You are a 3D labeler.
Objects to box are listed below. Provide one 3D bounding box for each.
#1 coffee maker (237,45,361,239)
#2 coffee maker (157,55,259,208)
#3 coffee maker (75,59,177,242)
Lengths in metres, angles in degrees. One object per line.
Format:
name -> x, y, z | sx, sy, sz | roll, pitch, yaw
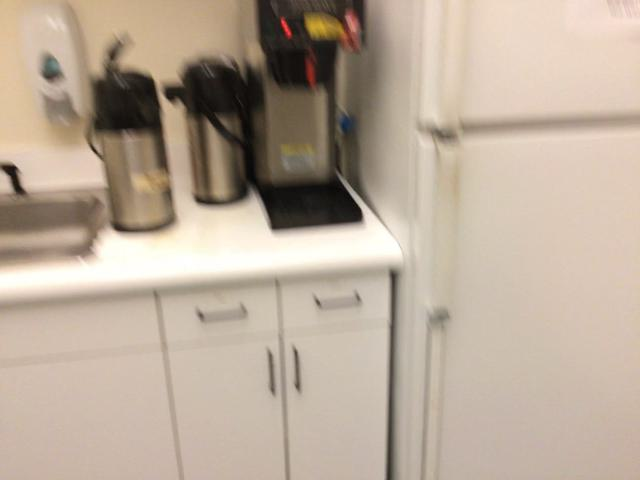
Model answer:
coffee maker -> -0.060, -0.250, 1.360 | 0.220, 0.370, 0.380 | -5, 22, -10
coffee maker -> -0.260, -0.260, 1.380 | 0.200, 0.330, 0.130 | -5, 22, -10
coffee maker -> -0.390, -0.190, 1.210 | 0.140, 0.340, 0.170 | -5, 22, -10
